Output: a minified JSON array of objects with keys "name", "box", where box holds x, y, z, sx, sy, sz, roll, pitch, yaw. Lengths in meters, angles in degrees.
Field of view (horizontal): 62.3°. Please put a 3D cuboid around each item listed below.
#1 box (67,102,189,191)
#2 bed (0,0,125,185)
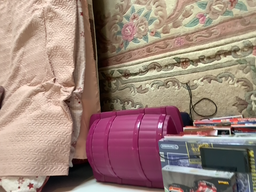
[{"name":"box","box":[0.020,0.250,1.170,0.480,0.460,0.390,-5,88,32]},{"name":"bed","box":[-0.790,-0.540,1.710,1.310,0.440,2.170,-7,87,31]}]
